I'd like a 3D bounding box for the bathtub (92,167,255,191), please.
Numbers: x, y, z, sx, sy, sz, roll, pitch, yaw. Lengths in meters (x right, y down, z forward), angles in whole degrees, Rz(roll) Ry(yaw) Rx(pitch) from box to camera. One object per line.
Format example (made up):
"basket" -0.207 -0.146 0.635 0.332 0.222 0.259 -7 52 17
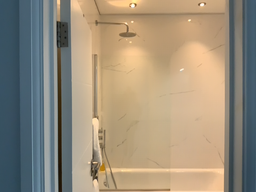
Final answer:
"bathtub" 0.470 1.210 2.480 1.670 0.520 0.670 0 1 0
